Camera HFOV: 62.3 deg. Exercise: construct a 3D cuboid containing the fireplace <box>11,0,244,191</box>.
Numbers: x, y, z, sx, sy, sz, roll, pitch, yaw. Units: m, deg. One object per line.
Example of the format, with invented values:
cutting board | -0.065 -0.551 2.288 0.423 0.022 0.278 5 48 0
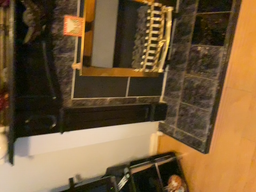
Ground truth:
fireplace | 0.040 -0.320 1.180 0.520 1.150 1.420 22 109 51
